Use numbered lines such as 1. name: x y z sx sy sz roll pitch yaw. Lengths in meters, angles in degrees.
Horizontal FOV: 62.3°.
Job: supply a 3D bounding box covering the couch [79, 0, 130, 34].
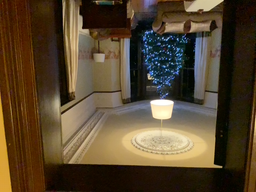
1. couch: -0.400 -1.870 4.490 0.880 0.930 1.660 0 -169 1
